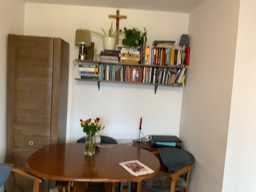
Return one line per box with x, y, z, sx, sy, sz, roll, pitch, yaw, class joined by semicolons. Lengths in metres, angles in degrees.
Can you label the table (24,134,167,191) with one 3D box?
-0.300;0.970;2.310;1.140;0.770;1.160;4;4;-3;table
